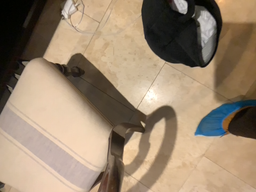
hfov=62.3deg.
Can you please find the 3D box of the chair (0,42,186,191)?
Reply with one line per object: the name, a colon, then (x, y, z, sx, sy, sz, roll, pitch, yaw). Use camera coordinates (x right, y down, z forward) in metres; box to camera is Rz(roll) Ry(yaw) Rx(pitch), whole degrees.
chair: (-0.230, 0.190, 0.750, 0.630, 0.840, 0.480, 31, 99, 7)
